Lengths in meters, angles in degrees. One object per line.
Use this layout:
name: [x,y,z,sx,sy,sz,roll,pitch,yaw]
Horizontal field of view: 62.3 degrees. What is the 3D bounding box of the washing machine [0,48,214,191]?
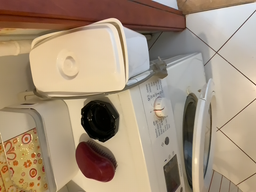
washing machine: [0.060,0.150,0.950,0.500,0.850,0.600,-1,104,28]
